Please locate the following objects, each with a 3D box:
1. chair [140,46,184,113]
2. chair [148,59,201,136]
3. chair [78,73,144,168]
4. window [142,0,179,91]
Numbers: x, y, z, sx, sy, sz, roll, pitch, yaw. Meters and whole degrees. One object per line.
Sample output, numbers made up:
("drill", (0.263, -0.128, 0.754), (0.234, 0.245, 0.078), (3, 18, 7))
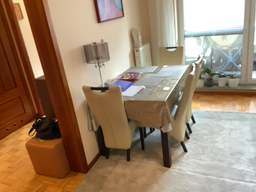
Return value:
("chair", (0.610, -0.300, 3.570), (0.510, 0.940, 0.650), (3, 24, 25))
("chair", (0.650, 0.000, 2.850), (0.570, 0.900, 0.430), (3, 24, 25))
("chair", (-0.150, 0.250, 2.450), (0.440, 0.920, 0.510), (3, 24, 25))
("window", (0.580, -1.240, 3.730), (0.470, 2.310, 0.350), (3, 24, 25))
